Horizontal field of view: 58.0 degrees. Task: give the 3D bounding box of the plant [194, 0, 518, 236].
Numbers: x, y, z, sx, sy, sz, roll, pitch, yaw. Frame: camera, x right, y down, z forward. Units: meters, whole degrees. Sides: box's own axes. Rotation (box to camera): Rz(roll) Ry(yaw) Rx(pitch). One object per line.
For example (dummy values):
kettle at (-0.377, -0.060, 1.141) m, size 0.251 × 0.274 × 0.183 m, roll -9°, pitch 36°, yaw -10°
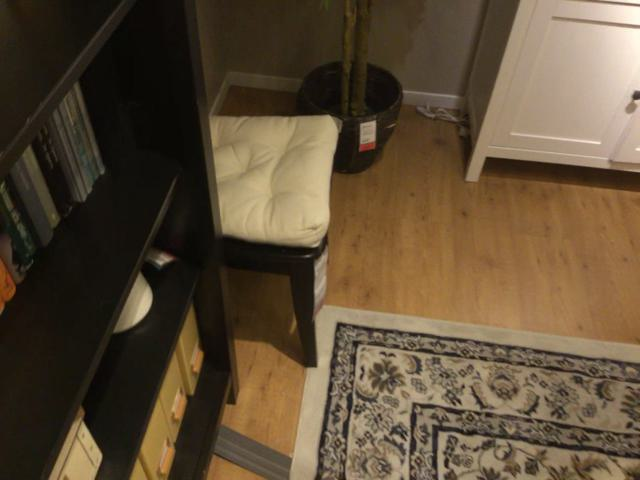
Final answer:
plant at (0.120, -0.870, 1.500) m, size 0.740 × 1.620 × 0.730 m, roll 5°, pitch 46°, yaw 8°
